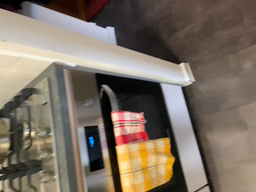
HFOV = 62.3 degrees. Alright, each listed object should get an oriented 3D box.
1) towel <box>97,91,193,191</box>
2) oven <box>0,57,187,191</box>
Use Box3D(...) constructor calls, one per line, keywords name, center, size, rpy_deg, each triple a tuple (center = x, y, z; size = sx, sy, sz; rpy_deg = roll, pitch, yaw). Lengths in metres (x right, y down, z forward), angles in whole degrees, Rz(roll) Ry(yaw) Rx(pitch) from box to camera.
Box3D(name="towel", center=(0.080, 0.190, 0.860), size=(0.120, 0.350, 0.380), rpy_deg=(-23, 73, 40))
Box3D(name="oven", center=(-0.200, 0.270, 1.070), size=(0.620, 0.630, 0.620), rpy_deg=(-23, 73, 40))
